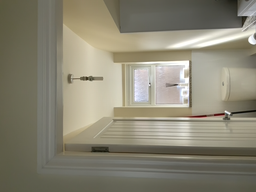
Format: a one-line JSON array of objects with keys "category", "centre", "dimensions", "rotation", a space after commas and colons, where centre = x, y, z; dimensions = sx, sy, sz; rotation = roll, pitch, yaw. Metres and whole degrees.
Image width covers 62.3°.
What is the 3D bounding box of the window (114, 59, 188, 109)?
[{"category": "window", "centre": [0.300, -0.160, 2.850], "dimensions": [0.130, 0.960, 0.650], "rotation": [21, -110, -83]}]
